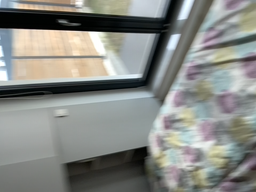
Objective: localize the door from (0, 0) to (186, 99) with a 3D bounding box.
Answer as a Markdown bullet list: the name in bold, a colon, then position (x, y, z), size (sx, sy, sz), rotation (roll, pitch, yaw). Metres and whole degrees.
- **door**: position (-0.710, -0.650, 1.680), size (0.120, 2.610, 1.620), rotation (-119, 33, -42)
